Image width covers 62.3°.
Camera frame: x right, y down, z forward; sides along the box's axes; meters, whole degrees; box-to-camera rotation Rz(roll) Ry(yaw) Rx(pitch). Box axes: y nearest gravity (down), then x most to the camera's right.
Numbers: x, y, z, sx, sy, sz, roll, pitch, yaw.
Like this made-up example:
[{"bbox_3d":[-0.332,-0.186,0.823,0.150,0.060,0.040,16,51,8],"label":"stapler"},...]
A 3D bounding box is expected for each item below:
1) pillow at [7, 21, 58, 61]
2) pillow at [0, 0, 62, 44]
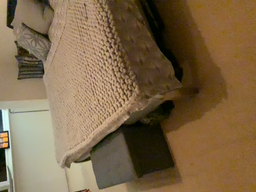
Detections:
[{"bbox_3d":[-1.170,-0.660,2.620,0.380,0.420,0.170,-20,69,14],"label":"pillow"},{"bbox_3d":[-1.110,-0.890,2.460,0.410,0.480,0.210,-22,69,18],"label":"pillow"}]
